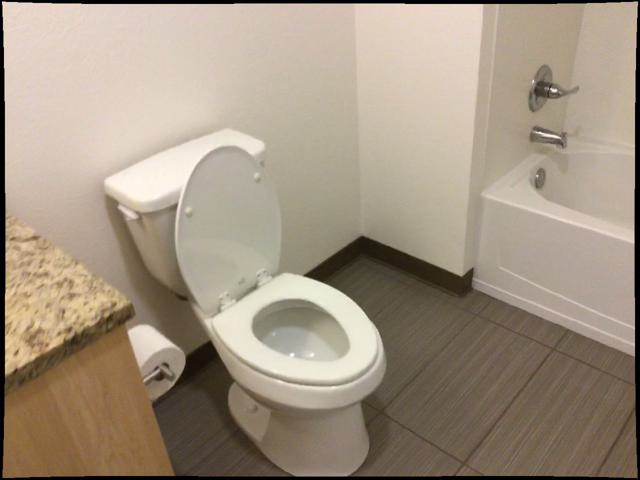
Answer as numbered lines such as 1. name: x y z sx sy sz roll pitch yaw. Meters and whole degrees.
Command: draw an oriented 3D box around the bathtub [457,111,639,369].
1. bathtub: 1.329 0.070 1.950 1.469 0.450 0.780 24 45 34
